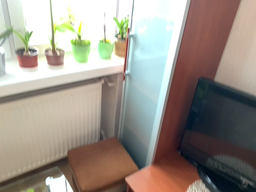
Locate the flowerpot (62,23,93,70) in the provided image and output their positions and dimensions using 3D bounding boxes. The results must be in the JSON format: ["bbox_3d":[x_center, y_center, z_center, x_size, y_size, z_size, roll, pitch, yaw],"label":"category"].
[{"bbox_3d":[-0.340,-0.340,1.430,0.140,0.250,0.190,-13,36,-29],"label":"flowerpot"}]

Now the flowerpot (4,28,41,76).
[{"bbox_3d":[-0.610,-0.260,1.230,0.140,0.220,0.170,-12,35,-28],"label":"flowerpot"}]

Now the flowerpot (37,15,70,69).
[{"bbox_3d":[-0.450,-0.330,1.290,0.130,0.280,0.160,-12,36,-28],"label":"flowerpot"}]
